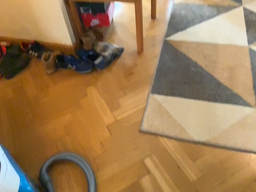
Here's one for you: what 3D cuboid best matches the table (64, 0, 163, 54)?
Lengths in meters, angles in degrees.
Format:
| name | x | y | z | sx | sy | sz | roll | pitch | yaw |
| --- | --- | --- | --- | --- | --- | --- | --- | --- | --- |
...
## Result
| name | x | y | z | sx | sy | sz | roll | pitch | yaw |
| --- | --- | --- | --- | --- | --- | --- | --- | --- | --- |
| table | -0.060 | -0.730 | 1.650 | 0.580 | 0.450 | 0.610 | 10 | 53 | 13 |
